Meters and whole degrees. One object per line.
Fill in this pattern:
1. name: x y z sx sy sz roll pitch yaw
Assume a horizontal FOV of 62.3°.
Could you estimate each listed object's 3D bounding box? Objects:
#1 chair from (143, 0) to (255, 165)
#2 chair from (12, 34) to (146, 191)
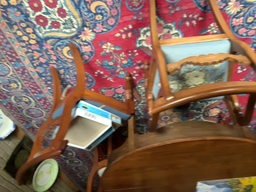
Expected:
1. chair: 0.330 -0.160 1.170 0.430 0.870 0.530 -4 138 2
2. chair: -0.270 0.120 1.440 0.590 0.890 0.410 25 131 -26
